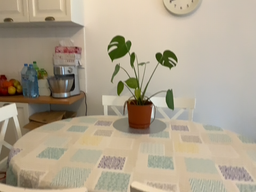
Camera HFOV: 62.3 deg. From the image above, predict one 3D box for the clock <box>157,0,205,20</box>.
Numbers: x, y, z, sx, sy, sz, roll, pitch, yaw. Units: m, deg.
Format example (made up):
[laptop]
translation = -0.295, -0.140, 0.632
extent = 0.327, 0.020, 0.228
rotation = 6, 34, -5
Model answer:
[clock]
translation = 0.480, -0.910, 1.910
extent = 0.410, 0.420, 0.050
rotation = 3, 11, 8

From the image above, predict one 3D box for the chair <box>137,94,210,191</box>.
[chair]
translation = 0.320, 0.480, 1.770
extent = 0.470, 0.900, 0.500
rotation = 2, 11, 3
